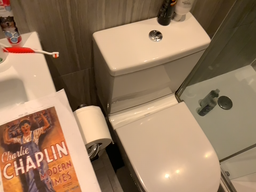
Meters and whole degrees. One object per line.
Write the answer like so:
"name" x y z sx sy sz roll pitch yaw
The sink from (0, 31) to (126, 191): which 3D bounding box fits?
"sink" -0.400 0.120 0.520 0.640 0.140 0.480 -17 65 -19
